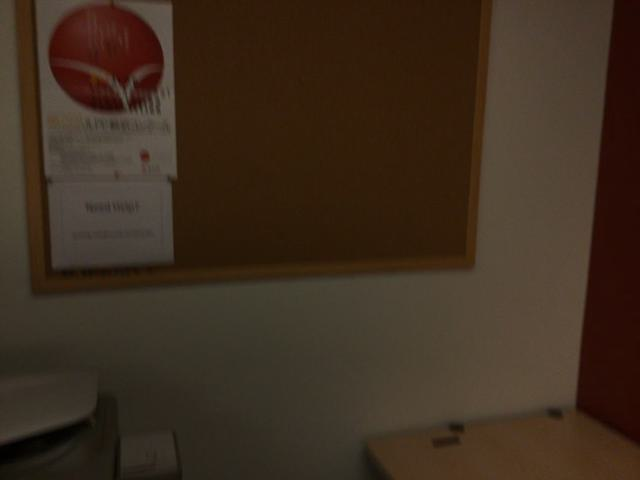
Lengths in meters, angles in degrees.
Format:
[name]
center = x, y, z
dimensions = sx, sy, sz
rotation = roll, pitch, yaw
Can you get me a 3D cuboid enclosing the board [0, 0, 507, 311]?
[board]
center = -0.100, -0.320, 1.440
dimensions = 1.230, 0.940, 0.040
rotation = -1, 9, -17
